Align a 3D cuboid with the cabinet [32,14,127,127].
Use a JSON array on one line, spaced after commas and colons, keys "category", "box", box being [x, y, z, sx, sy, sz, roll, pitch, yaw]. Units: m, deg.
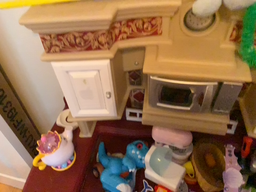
[{"category": "cabinet", "box": [-0.120, -0.070, 0.670, 0.210, 0.290, 0.190, -4, 46, -1]}]
